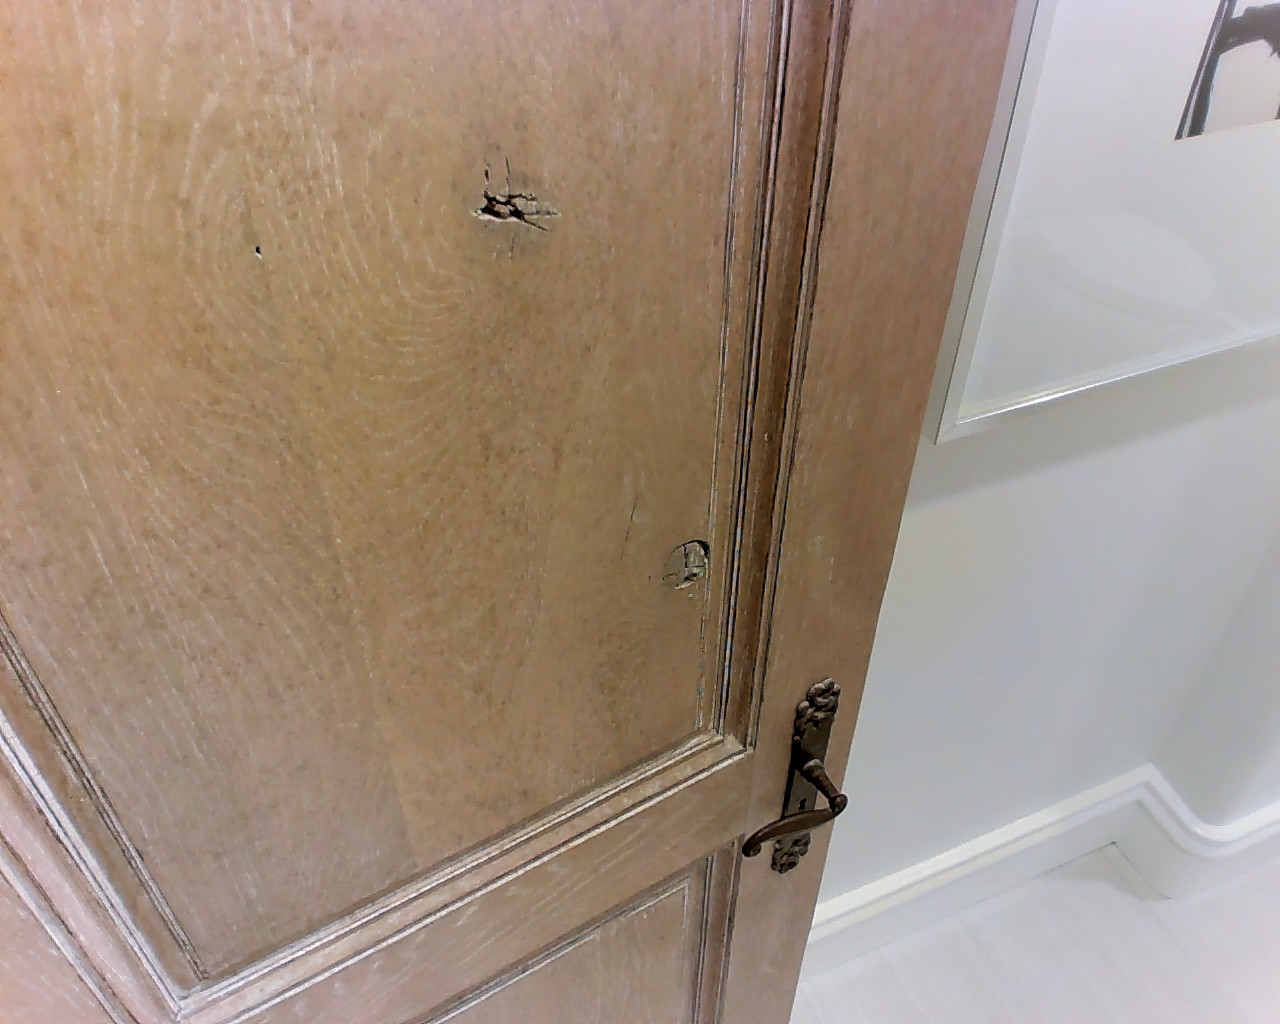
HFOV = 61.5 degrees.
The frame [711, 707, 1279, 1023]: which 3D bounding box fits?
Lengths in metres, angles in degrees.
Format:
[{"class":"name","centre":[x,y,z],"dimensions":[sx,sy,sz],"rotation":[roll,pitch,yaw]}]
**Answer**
[{"class":"frame","centre":[0.660,0.620,1.750],"dimensions":[1.120,0.210,0.170],"rotation":[-16,44,-17]}]
